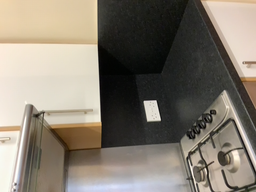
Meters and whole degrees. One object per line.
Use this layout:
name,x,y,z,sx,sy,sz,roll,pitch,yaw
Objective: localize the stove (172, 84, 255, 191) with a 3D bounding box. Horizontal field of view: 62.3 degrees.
stove,0.340,0.340,0.850,0.520,0.040,0.580,103,162,-57
